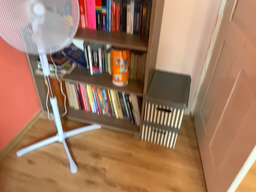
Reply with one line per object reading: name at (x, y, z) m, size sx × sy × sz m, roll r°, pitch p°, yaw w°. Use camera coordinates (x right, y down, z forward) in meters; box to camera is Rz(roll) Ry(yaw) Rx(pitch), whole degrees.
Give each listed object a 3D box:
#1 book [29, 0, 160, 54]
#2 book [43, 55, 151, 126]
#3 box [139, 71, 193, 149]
book at (-0.220, -0.530, 1.440) m, size 0.800 × 0.260 × 0.260 m, roll 12°, pitch 39°, yaw 11°
book at (-0.250, -0.060, 1.830) m, size 0.820 × 0.350 × 0.290 m, roll 13°, pitch 39°, yaw 12°
box at (0.300, 0.100, 1.670) m, size 0.300 × 0.410 × 0.380 m, roll 13°, pitch 39°, yaw 12°
